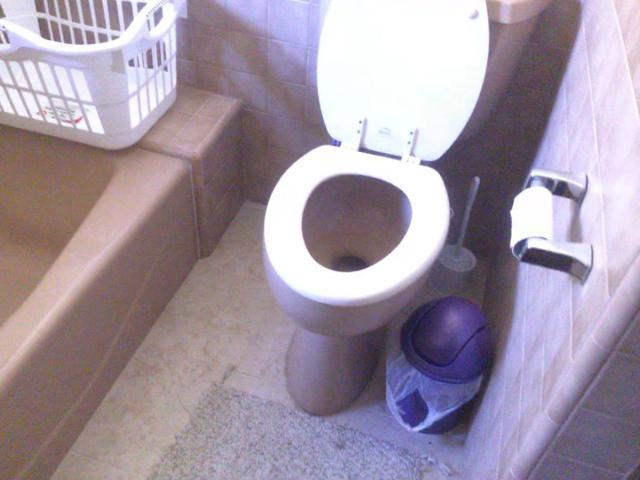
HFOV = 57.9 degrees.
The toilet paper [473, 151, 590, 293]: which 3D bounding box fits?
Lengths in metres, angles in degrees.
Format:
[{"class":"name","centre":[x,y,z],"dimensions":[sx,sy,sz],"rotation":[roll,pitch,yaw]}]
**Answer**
[{"class":"toilet paper","centre":[0.280,-0.030,0.770],"dimensions":[0.120,0.070,0.180],"rotation":[12,44,11]}]

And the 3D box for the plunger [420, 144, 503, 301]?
[{"class":"plunger","centre":[0.370,-0.040,1.530],"dimensions":[0.130,0.360,0.190],"rotation":[12,44,11]}]

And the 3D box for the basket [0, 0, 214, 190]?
[{"class":"basket","centre":[-0.690,-0.460,1.420],"dimensions":[0.700,0.360,0.430],"rotation":[12,44,11]}]
